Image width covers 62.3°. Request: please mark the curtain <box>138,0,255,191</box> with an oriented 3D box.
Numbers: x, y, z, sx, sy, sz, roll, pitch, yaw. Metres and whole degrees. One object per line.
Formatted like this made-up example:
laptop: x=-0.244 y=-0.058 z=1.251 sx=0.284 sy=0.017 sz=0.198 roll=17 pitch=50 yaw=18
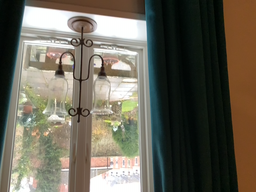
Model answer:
curtain: x=0.390 y=-0.030 z=1.120 sx=0.610 sy=2.320 sz=0.220 roll=3 pitch=166 yaw=-17
